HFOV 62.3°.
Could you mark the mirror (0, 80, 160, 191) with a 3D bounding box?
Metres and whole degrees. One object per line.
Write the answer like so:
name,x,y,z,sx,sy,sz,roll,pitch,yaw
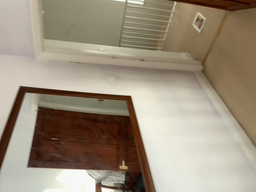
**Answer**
mirror,-0.390,0.360,1.590,1.440,1.100,0.060,-102,19,-49
